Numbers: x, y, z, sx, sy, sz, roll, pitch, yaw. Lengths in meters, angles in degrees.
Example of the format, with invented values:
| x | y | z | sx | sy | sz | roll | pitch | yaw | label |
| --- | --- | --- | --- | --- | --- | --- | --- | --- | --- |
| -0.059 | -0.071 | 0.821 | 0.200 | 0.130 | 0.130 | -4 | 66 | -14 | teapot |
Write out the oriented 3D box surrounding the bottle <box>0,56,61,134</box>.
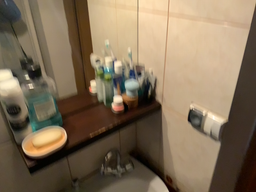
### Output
| x | y | z | sx | sy | sz | roll | pitch | yaw | label |
| --- | --- | --- | --- | --- | --- | --- | --- | --- | --- |
| -0.330 | -0.010 | 0.710 | 0.130 | 0.190 | 0.140 | -21 | 36 | -30 | bottle |
